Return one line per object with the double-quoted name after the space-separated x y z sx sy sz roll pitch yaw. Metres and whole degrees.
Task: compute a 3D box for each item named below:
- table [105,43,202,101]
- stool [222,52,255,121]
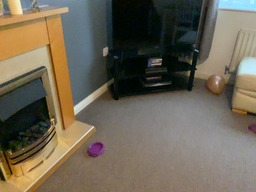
0.270 -0.330 2.640 1.010 0.450 0.580 -6 31 -12 "table"
1.470 -0.080 2.200 0.770 0.470 0.650 14 32 22 "stool"
